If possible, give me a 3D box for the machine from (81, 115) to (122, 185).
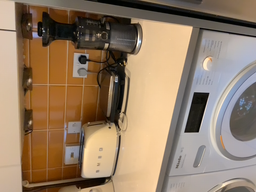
[{"bbox_3d":[-0.180,0.330,1.340,0.210,0.180,0.360,-134,49,-60],"label":"machine"}]
